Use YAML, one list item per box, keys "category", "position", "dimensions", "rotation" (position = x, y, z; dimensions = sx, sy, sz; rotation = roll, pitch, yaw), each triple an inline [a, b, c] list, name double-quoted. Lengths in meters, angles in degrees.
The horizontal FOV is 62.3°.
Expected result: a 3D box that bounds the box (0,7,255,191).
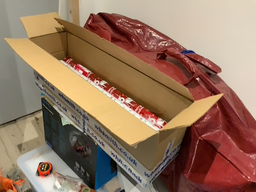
- category: "box"
  position: [-0.120, -0.050, 0.860]
  dimensions: [1.020, 0.400, 0.400]
  rotation: [27, 37, 32]
